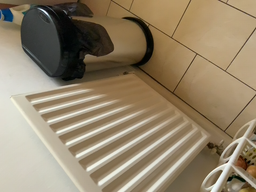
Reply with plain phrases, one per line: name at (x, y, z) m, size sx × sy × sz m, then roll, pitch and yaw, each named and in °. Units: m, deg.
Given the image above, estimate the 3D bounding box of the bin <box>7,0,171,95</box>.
bin at (-0.170, -0.320, 1.210) m, size 0.460 × 0.760 × 0.270 m, roll 42°, pitch 123°, yaw 23°
